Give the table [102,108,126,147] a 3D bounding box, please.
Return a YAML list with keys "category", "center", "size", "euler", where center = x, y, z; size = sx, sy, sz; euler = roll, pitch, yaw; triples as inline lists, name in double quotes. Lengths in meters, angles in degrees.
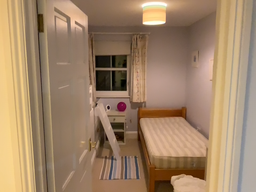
- category: "table"
  center: [-0.280, 0.620, 4.320]
  size: [0.450, 0.670, 0.470]
  euler: [0, 9, -2]
